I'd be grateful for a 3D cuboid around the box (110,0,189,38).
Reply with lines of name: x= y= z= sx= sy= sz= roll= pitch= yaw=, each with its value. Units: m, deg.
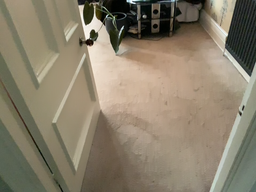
box: x=0.300 y=-1.220 z=3.130 sx=1.060 sy=0.510 sz=0.370 roll=-4 pitch=40 yaw=1
